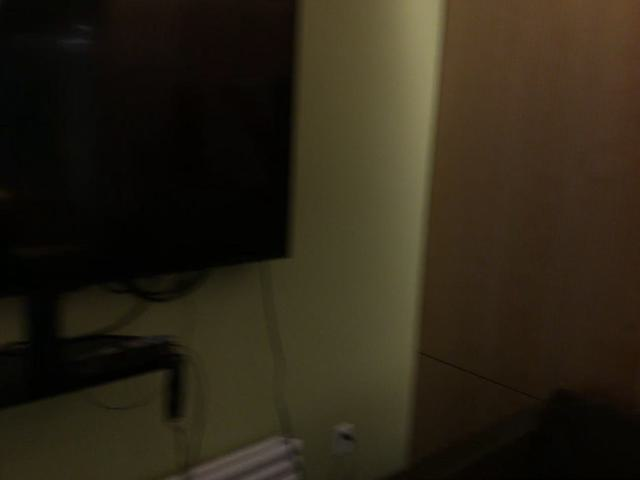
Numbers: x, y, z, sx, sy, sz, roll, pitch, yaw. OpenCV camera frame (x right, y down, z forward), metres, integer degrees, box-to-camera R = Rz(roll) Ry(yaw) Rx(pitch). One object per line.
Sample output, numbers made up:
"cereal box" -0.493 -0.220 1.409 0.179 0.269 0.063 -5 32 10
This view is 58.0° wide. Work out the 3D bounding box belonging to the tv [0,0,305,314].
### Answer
"tv" -0.590 -0.280 1.320 1.290 0.820 0.190 -7 11 -41
